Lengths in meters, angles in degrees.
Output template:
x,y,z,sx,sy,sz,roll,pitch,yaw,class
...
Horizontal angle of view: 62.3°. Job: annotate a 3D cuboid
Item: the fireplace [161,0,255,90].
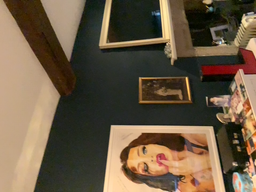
x,y,z,sx,sy,sz,roll,pitch,yaw,class
1.270,-1.030,3.180,0.660,1.400,1.860,83,-172,-54,fireplace
